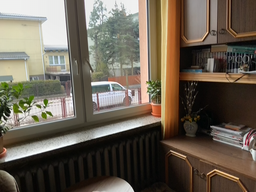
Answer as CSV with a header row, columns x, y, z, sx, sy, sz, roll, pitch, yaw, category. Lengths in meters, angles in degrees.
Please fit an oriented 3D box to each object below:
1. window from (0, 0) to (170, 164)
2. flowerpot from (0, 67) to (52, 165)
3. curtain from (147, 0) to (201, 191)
x,y,z,sx,sy,sz,roll,pitch,yaw,category
-0.390,-0.560,1.840,1.860,1.860,0.250,-9,12,-35,window
-0.960,0.120,1.590,0.570,0.640,0.430,-10,12,-38,flowerpot
0.480,-0.360,2.180,0.450,2.730,0.300,-9,12,-36,curtain
